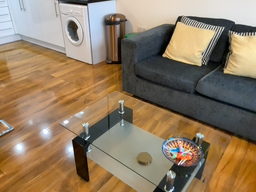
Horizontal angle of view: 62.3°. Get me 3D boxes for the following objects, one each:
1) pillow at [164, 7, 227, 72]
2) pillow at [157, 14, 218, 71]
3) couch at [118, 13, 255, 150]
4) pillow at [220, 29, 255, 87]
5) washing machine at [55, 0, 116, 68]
[{"bbox_3d":[0.730,-0.600,2.350,0.140,0.530,0.520,-30,10,-39],"label":"pillow"},{"bbox_3d":[0.620,-0.550,2.240,0.460,0.410,0.200,-17,10,43],"label":"pillow"},{"bbox_3d":[0.890,-0.280,2.170,1.720,0.780,1.020,21,36,31],"label":"couch"},{"bbox_3d":[1.120,-0.350,1.890,0.480,0.440,0.200,-6,19,31],"label":"pillow"},{"bbox_3d":[-0.630,-1.040,3.340,0.610,0.920,0.620,22,36,31],"label":"washing machine"}]
